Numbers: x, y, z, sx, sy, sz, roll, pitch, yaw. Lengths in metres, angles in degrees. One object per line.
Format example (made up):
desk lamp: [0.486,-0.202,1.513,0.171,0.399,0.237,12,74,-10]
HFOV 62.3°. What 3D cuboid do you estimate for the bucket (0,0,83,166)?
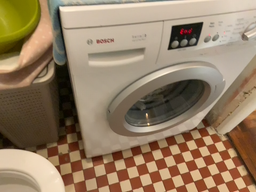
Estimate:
bucket: [-0.490,-0.060,0.910,0.450,0.610,0.460,-13,59,-16]
